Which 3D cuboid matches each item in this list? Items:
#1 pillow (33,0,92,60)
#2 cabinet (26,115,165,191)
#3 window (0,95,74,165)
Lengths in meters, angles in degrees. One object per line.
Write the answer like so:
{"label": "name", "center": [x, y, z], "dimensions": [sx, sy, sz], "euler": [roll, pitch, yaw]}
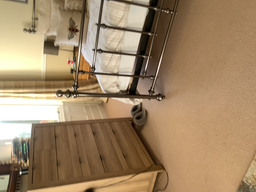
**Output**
{"label": "pillow", "center": [-0.910, -1.010, 2.760], "dimensions": [1.160, 0.560, 0.670], "euler": [-126, 44, -55]}
{"label": "cabinet", "center": [-0.400, 0.650, 2.200], "dimensions": [0.930, 1.150, 0.500], "euler": [-128, 45, -56]}
{"label": "window", "center": [-1.920, 0.430, 3.040], "dimensions": [1.200, 2.070, 0.360], "euler": [-125, 43, -54]}
